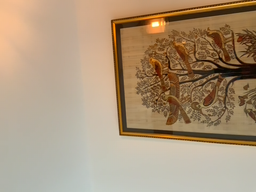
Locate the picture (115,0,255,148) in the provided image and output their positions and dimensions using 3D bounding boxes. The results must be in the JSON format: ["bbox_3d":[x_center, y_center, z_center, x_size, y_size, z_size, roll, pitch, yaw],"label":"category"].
[{"bbox_3d":[0.380,-0.100,1.110,0.040,0.920,0.710,-27,-64,-64],"label":"picture"}]
